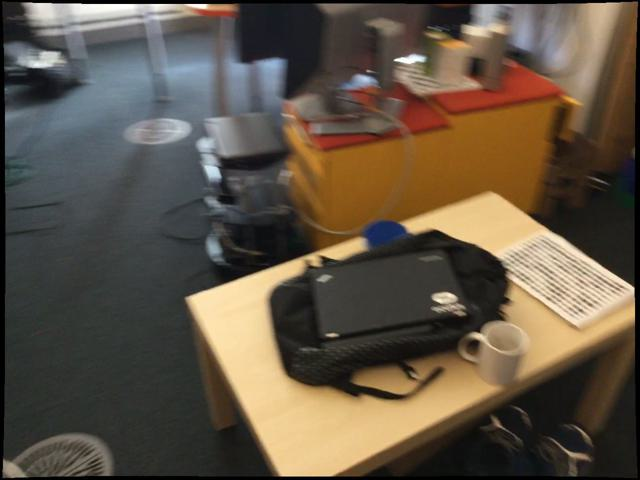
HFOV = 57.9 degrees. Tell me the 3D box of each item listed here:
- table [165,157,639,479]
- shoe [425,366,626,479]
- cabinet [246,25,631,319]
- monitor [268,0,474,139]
[{"bbox_3d":[0.230,0.300,1.450,1.009,0.610,0.650,-14,40,-20],"label":"table"},{"bbox_3d":[0.519,0.511,1.490,0.400,0.090,0.270,-14,40,-20],"label":"shoe"},{"bbox_3d":[0.400,-0.310,2.200,1.199,0.710,0.570,-14,40,-20],"label":"cabinet"},{"bbox_3d":[0.150,-0.621,1.760,0.570,0.480,0.220,-14,40,-21],"label":"monitor"}]
